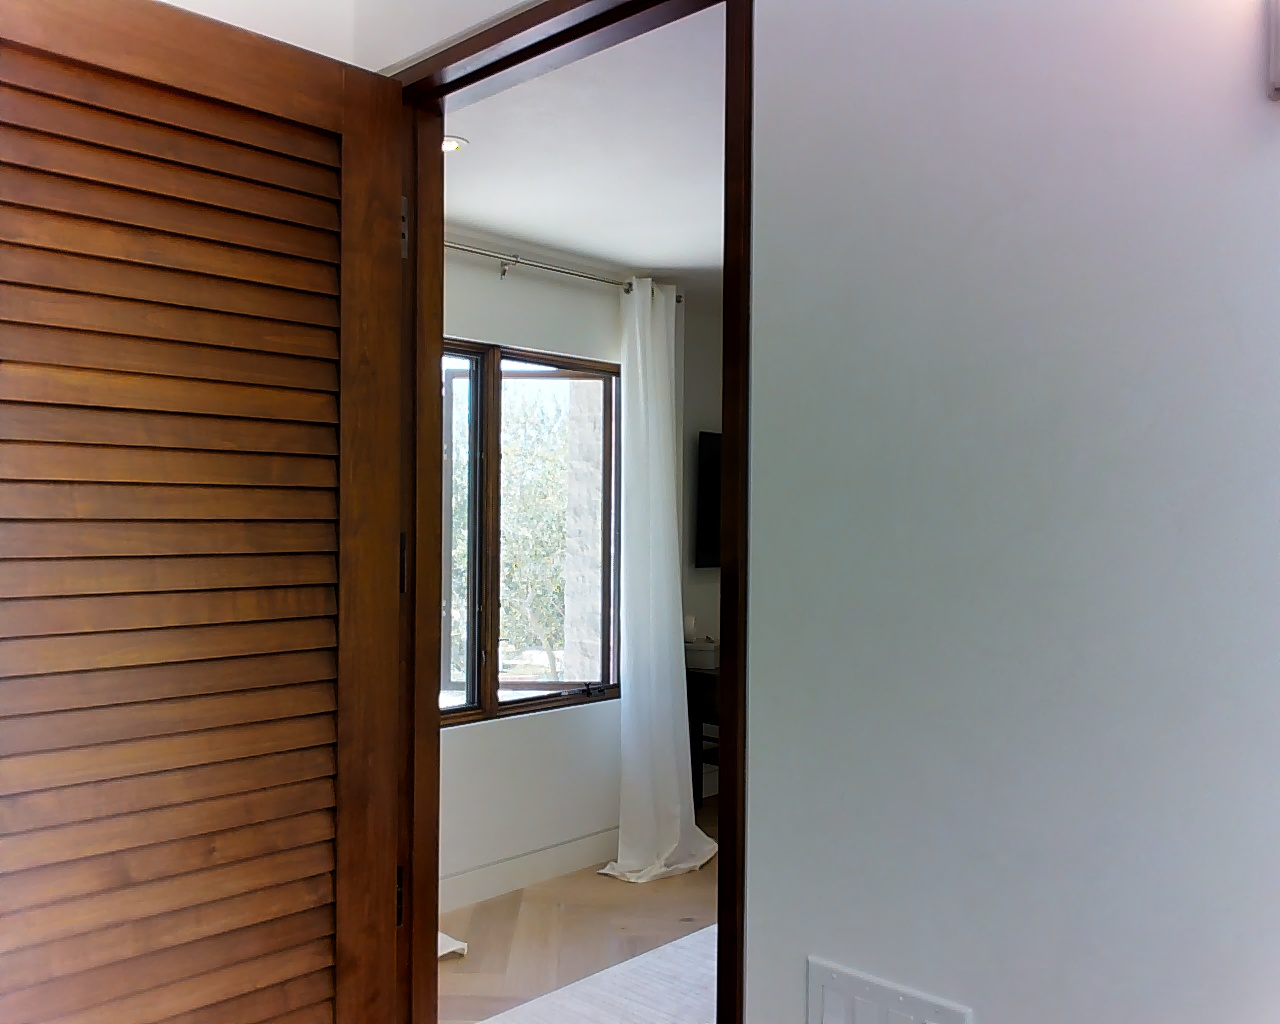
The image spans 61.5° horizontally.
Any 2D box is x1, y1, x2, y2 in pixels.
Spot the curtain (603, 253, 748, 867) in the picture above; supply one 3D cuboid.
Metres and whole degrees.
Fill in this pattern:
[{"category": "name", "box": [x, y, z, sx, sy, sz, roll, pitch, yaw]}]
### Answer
[{"category": "curtain", "box": [0.180, 0.220, 5.270, 0.370, 2.810, 0.620, 1, 1, 44]}]
